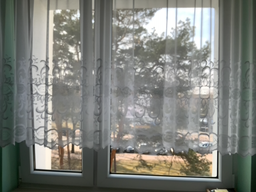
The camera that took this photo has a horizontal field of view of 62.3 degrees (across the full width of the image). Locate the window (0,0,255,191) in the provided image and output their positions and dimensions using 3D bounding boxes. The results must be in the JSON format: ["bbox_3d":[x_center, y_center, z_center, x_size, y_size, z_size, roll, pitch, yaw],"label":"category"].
[{"bbox_3d":[-0.120,-0.180,1.210,1.730,1.610,0.340,1,0,6],"label":"window"}]
